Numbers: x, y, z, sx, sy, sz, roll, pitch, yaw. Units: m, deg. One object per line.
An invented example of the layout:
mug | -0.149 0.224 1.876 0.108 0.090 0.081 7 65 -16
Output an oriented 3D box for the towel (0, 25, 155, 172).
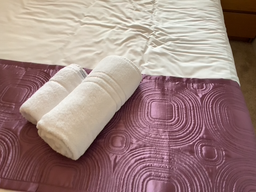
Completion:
towel | -0.140 -0.030 0.650 0.320 0.110 0.390 20 54 15
